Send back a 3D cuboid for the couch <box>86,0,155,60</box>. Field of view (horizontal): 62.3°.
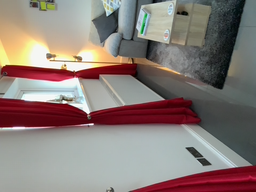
[{"bbox_3d":[-0.200,-1.340,3.670,1.090,0.870,1.200,-133,46,-63],"label":"couch"}]
